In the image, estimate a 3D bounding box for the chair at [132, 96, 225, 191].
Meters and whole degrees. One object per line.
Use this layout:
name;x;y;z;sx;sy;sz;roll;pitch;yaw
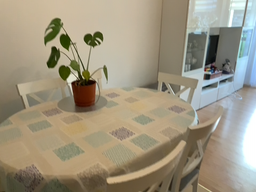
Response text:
chair;0.310;0.490;1.470;0.380;0.850;0.400;-15;26;-38

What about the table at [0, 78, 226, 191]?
table;-0.150;0.460;1.650;1.500;0.780;1.020;-16;26;-40

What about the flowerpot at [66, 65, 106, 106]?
flowerpot;-0.320;-0.090;1.680;0.260;0.270;0.200;1;20;0
